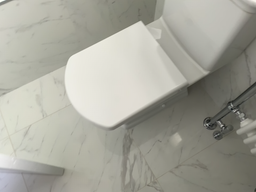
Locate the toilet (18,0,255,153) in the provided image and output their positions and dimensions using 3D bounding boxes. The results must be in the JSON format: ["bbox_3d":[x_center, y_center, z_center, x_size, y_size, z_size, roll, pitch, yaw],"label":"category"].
[{"bbox_3d":[0.080,-0.160,0.900,0.670,0.790,0.410,-28,71,-10],"label":"toilet"}]
